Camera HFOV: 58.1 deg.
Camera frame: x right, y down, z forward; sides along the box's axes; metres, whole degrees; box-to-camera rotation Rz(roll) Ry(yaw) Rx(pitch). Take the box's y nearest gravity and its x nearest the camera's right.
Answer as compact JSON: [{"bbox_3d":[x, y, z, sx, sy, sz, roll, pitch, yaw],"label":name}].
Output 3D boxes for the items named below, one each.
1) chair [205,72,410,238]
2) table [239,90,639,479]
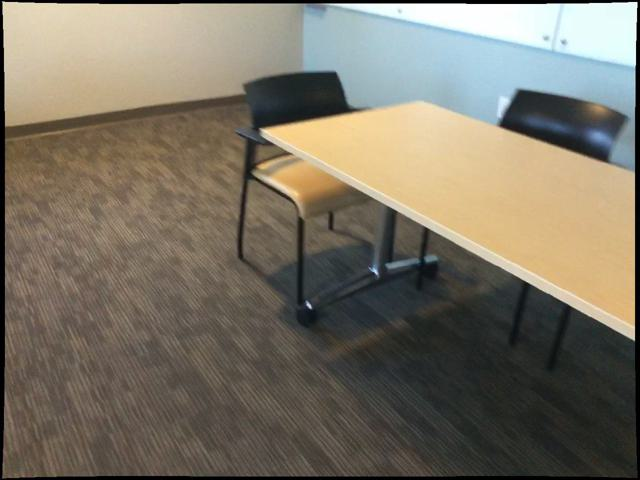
[{"bbox_3d":[-0.060,-0.381,2.340,0.589,0.411,0.570,-18,33,-27],"label":"chair"},{"bbox_3d":[0.608,0.180,1.740,0.928,0.741,1.879,-18,33,-27],"label":"table"}]
